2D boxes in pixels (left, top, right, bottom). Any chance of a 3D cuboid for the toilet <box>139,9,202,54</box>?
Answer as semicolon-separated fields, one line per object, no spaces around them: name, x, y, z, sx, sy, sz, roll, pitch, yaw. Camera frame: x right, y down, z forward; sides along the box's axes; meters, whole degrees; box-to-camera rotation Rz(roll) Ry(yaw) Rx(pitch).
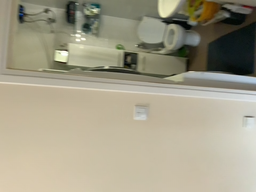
toilet;0.620;-0.940;3.250;0.640;0.710;0.440;-164;78;-75

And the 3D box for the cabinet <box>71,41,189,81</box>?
cabinet;0.060;-0.500;3.200;0.280;1.760;0.340;162;111;-75
